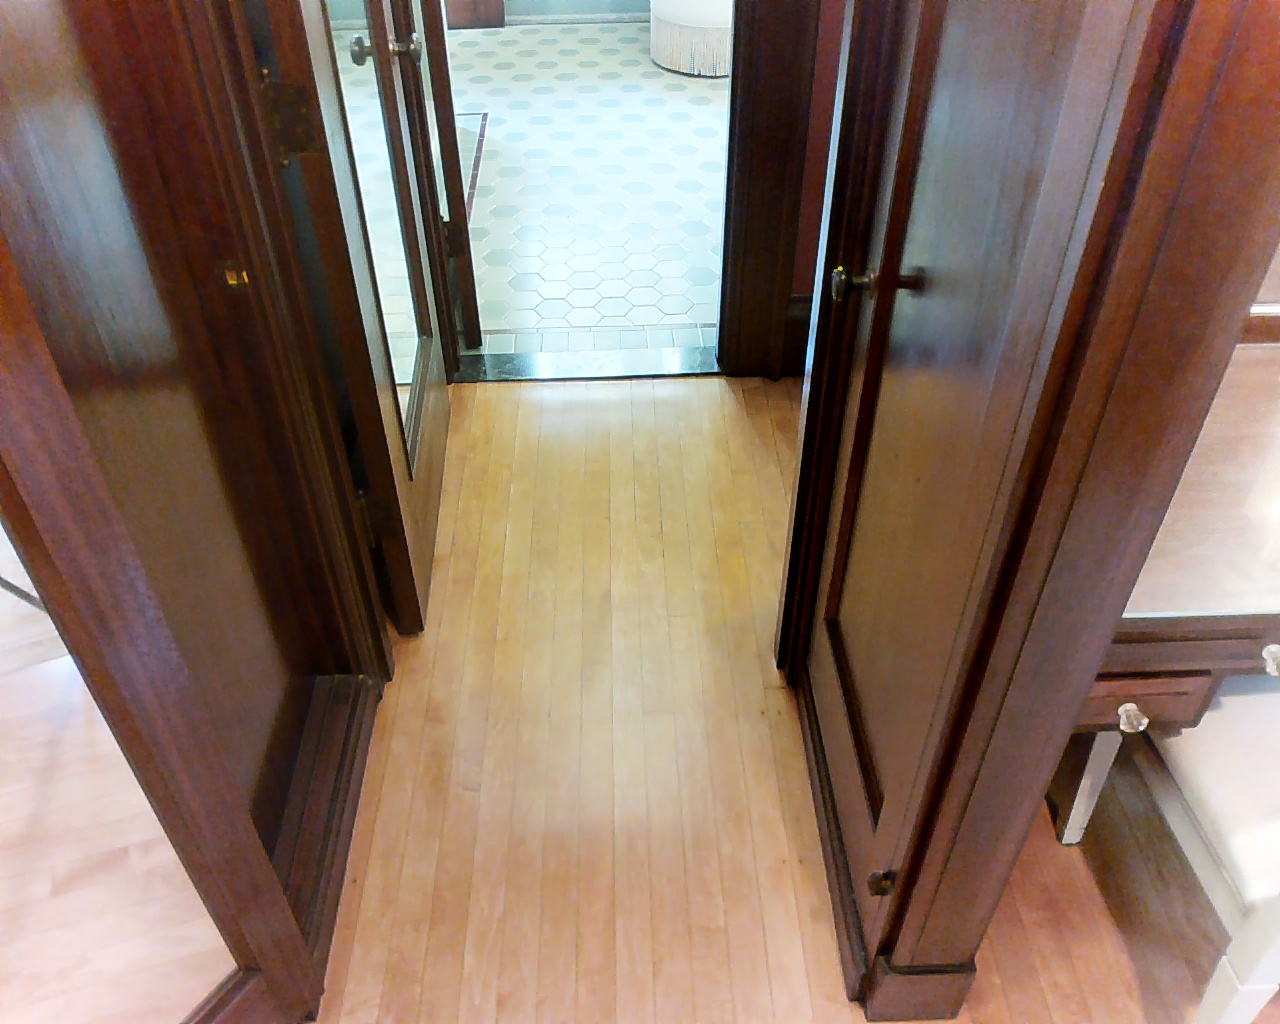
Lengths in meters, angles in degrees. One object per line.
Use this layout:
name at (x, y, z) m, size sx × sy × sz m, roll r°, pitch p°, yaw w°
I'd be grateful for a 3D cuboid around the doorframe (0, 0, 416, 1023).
doorframe at (-0.470, -0.260, 1.190) m, size 0.060 × 2.020 × 0.810 m, roll -1°, pitch 42°, yaw -1°
